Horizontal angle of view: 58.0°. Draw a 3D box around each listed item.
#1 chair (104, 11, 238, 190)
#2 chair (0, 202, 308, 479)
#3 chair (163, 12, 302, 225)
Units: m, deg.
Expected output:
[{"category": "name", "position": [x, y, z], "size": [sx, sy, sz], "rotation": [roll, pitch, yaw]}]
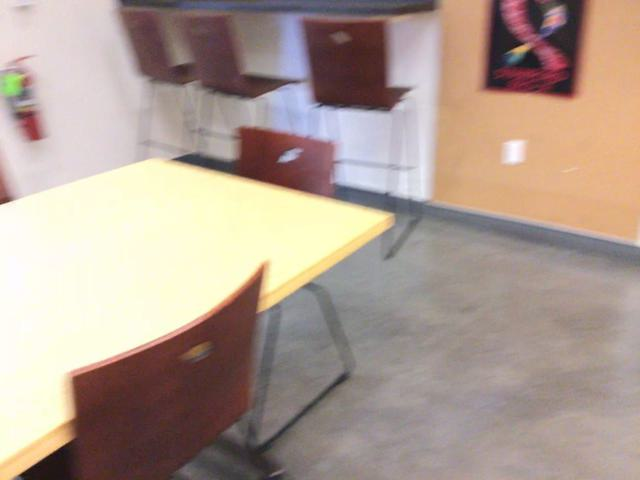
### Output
[{"category": "chair", "position": [-0.890, -0.880, 3.560], "size": [0.550, 0.950, 0.490], "rotation": [19, 30, 33]}, {"category": "chair", "position": [-0.350, 0.410, 1.150], "size": [0.430, 0.790, 0.460], "rotation": [22, 32, 34]}, {"category": "chair", "position": [-0.460, -0.700, 3.220], "size": [0.450, 1.030, 0.560], "rotation": [21, 31, 35]}]
